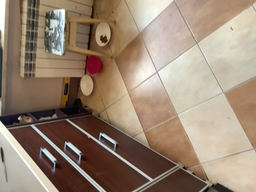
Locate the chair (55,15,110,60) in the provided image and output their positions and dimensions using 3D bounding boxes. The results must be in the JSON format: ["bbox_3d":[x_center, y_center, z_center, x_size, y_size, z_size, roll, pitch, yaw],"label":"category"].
[{"bbox_3d":[-0.380,-0.480,1.790,0.190,0.370,0.300,25,110,38],"label":"chair"}]
